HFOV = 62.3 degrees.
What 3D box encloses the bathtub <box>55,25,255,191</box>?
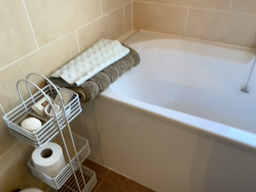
[{"bbox_3d":[0.590,0.170,1.060,1.700,0.550,0.740,18,43,24],"label":"bathtub"}]
